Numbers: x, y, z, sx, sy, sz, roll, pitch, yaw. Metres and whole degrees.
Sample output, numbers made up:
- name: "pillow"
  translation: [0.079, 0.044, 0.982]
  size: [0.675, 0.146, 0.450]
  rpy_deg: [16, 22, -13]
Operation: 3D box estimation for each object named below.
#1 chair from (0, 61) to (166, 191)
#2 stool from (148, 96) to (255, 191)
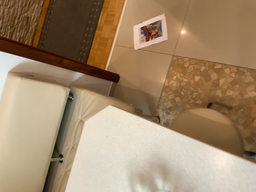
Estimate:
- name: "chair"
  translation: [-0.290, 0.220, 1.330]
  size: [0.580, 0.860, 0.580]
  rpy_deg: [20, 95, 36]
- name: "stool"
  translation: [0.410, 0.220, 1.040]
  size: [0.330, 0.520, 0.310]
  rpy_deg: [18, 95, 36]
